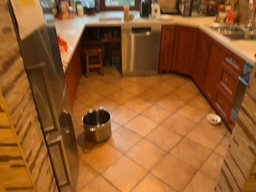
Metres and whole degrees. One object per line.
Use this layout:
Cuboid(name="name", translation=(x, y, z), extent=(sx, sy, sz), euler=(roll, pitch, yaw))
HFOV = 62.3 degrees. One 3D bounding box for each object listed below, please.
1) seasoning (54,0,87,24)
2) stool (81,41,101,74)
Cuboid(name="seasoning", translation=(-0.890, -1.370, 3.390), extent=(0.310, 0.280, 0.640), euler=(2, 32, 2))
Cuboid(name="stool", translation=(-0.610, -0.640, 3.520), extent=(0.290, 0.470, 0.240), euler=(-5, 32, -9))
